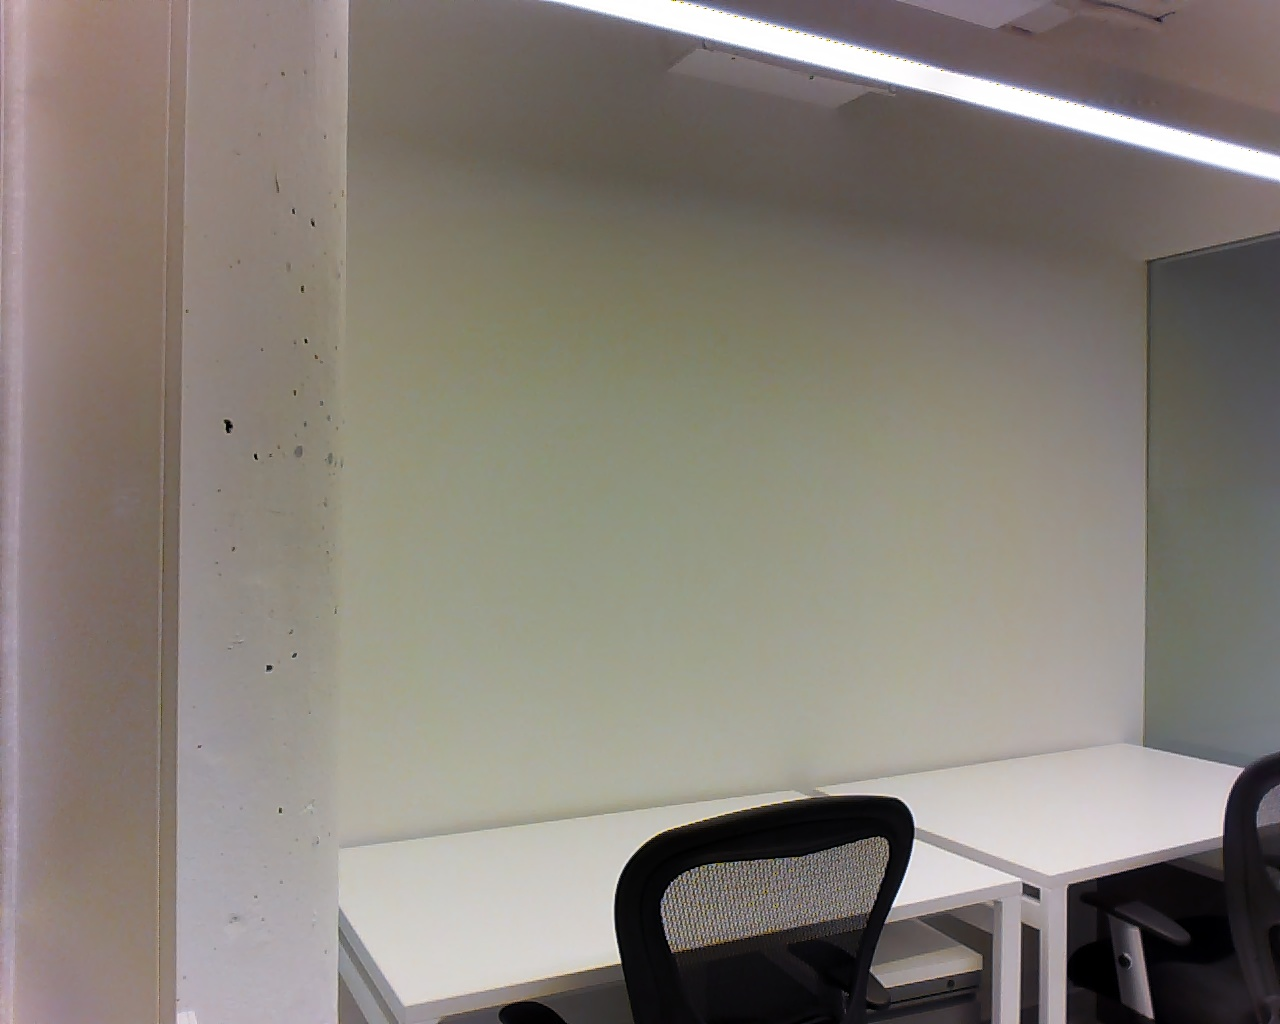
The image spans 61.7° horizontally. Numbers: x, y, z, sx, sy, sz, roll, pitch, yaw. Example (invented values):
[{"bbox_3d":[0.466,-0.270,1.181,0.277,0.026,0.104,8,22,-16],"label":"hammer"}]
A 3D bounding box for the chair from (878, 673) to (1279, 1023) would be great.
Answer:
[{"bbox_3d":[1.190,0.970,2.500,0.710,1.000,1.060,1,0,-28],"label":"chair"}]

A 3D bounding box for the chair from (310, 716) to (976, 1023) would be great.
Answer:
[{"bbox_3d":[-0.030,0.920,1.660,0.870,1.050,0.580,1,0,-22],"label":"chair"}]
